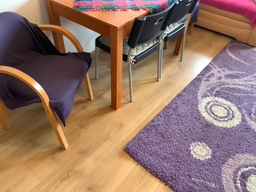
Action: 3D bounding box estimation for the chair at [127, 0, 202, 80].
[{"bbox_3d":[0.320,-0.640,2.000,0.460,0.750,0.430,32,50,27],"label":"chair"}]

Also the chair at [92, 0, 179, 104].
[{"bbox_3d":[0.040,-0.420,1.760,0.460,0.750,0.420,32,50,27],"label":"chair"}]

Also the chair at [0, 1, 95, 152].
[{"bbox_3d":[-0.630,-0.140,1.450,0.590,0.700,0.630,11,44,7],"label":"chair"}]

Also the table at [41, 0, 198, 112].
[{"bbox_3d":[0.000,-0.620,1.960,0.710,0.760,1.210,32,50,25],"label":"table"}]

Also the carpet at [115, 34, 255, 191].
[{"bbox_3d":[1.230,0.160,1.790,1.580,0.060,2.230,33,51,26],"label":"carpet"}]
